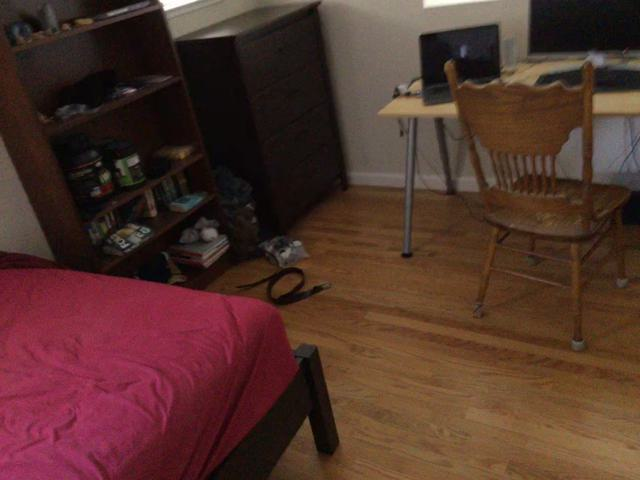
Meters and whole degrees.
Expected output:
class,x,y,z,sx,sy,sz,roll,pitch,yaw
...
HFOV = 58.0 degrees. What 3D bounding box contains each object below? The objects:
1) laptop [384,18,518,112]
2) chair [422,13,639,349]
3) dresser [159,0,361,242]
class,x,y,z,sx,sy,sz,roll,pitch,yaw
laptop,0.600,-0.800,2.630,0.530,0.240,0.440,-5,28,17
chair,0.830,-0.220,2.150,0.590,1.010,0.570,5,32,33
dresser,-0.280,-0.720,3.410,0.520,1.160,0.850,5,32,33
